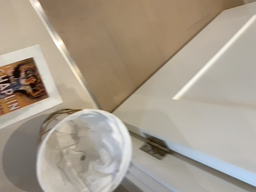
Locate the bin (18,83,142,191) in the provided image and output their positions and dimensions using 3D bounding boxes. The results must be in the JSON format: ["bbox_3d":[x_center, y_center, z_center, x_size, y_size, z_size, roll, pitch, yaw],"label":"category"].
[{"bbox_3d":[-0.160,0.120,0.660,0.250,0.260,0.190,-49,116,-18],"label":"bin"}]
